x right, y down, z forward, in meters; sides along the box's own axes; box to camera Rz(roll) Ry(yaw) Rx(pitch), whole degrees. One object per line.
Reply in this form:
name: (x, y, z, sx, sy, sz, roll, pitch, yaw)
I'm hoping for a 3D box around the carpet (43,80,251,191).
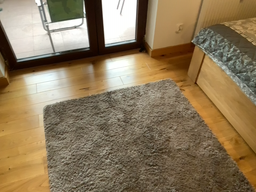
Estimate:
carpet: (0.100, 0.520, 1.340, 1.180, 0.040, 1.610, -11, 47, -13)
